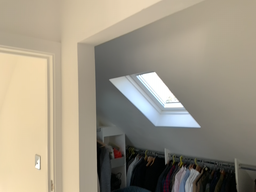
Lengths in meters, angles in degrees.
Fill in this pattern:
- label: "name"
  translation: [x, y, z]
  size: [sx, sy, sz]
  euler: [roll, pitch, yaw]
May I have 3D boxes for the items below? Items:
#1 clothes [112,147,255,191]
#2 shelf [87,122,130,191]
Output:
- label: "clothes"
  translation: [0.760, 1.270, 2.340]
  size: [0.510, 1.030, 2.450]
  euler: [2, -4, -41]
- label: "shelf"
  translation: [-0.270, 1.110, 2.980]
  size: [0.430, 1.440, 0.400]
  euler: [2, -4, -42]
